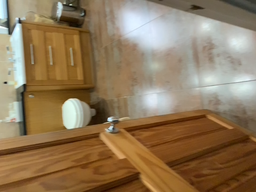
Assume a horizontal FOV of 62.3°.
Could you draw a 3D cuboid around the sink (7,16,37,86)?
[{"bbox_3d":[-1.300,-0.510,2.580,0.490,0.200,0.710,-10,85,53],"label":"sink"}]
